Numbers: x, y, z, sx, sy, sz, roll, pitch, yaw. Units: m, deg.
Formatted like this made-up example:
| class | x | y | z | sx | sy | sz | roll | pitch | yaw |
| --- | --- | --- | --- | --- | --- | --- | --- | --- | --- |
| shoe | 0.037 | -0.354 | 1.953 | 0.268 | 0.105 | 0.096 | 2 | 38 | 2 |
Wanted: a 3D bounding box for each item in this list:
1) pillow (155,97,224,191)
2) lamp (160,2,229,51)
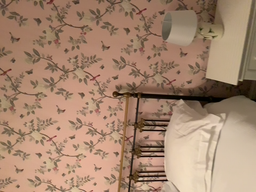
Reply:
| class | x | y | z | sx | sy | sz | roll | pitch | yaw |
| --- | --- | --- | --- | --- | --- | --- | --- | --- | --- |
| pillow | 0.440 | 0.400 | 1.670 | 0.470 | 0.240 | 0.670 | -128 | 41 | -72 |
| lamp | 0.470 | -0.490 | 1.550 | 0.240 | 0.370 | 0.280 | -130 | 44 | -73 |
